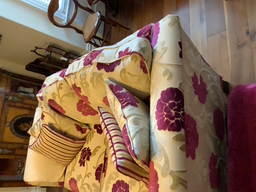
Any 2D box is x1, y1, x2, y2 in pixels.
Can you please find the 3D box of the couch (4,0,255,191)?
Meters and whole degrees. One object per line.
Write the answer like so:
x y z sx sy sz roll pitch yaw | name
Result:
-0.170 0.280 1.710 1.860 0.920 1.100 -12 69 48 | couch

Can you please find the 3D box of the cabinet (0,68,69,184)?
-1.580 0.490 3.240 0.480 1.020 1.510 -15 67 47 | cabinet

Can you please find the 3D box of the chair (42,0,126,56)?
-0.530 -0.860 2.580 0.320 0.830 0.500 -59 41 18 | chair
